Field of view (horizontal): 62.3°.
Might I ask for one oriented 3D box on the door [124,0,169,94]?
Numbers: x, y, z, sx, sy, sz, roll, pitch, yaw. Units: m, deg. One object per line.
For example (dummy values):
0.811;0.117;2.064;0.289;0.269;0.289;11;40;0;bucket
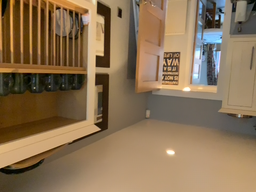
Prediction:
0.270;-1.090;2.520;0.190;2.070;0.740;7;-171;29;door
